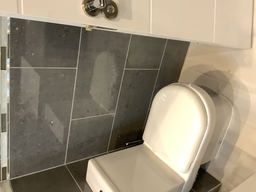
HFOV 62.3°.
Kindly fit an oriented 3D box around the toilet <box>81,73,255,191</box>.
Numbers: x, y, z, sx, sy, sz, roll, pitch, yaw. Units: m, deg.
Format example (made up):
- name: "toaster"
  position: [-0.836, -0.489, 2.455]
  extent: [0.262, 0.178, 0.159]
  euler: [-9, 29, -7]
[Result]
- name: "toilet"
  position: [0.230, 0.230, 1.200]
  extent: [0.390, 0.800, 0.620]
  euler: [35, 120, 43]
